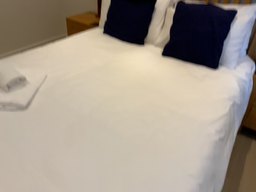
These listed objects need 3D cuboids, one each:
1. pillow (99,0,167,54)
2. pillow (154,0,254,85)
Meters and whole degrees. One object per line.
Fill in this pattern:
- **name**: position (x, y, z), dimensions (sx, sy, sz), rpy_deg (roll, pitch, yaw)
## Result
- **pillow**: position (0.020, -0.660, 1.810), dimensions (0.480, 0.390, 0.110), rpy_deg (38, 49, 5)
- **pillow**: position (0.540, -0.440, 1.590), dimensions (0.490, 0.440, 0.270), rpy_deg (45, 50, 11)
